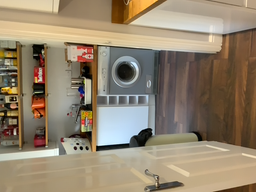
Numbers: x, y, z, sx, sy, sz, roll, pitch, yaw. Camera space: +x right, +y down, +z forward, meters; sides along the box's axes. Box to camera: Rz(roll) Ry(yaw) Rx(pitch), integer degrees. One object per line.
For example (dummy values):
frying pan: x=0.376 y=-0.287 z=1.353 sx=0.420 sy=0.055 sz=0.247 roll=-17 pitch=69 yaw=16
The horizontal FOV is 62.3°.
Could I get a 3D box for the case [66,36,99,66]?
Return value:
case: x=-0.600 y=-0.540 z=2.690 sx=0.790 sy=0.300 sz=0.250 roll=-170 pitch=80 yaw=-69
